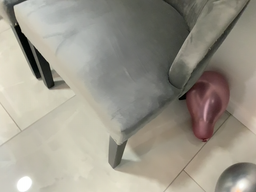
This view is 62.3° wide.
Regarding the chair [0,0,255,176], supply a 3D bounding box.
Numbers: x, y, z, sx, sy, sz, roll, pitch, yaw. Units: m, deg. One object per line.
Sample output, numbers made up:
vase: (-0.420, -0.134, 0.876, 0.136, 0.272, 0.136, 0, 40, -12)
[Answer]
chair: (0.030, -0.280, 0.710, 0.660, 0.920, 0.590, -38, 71, -25)
